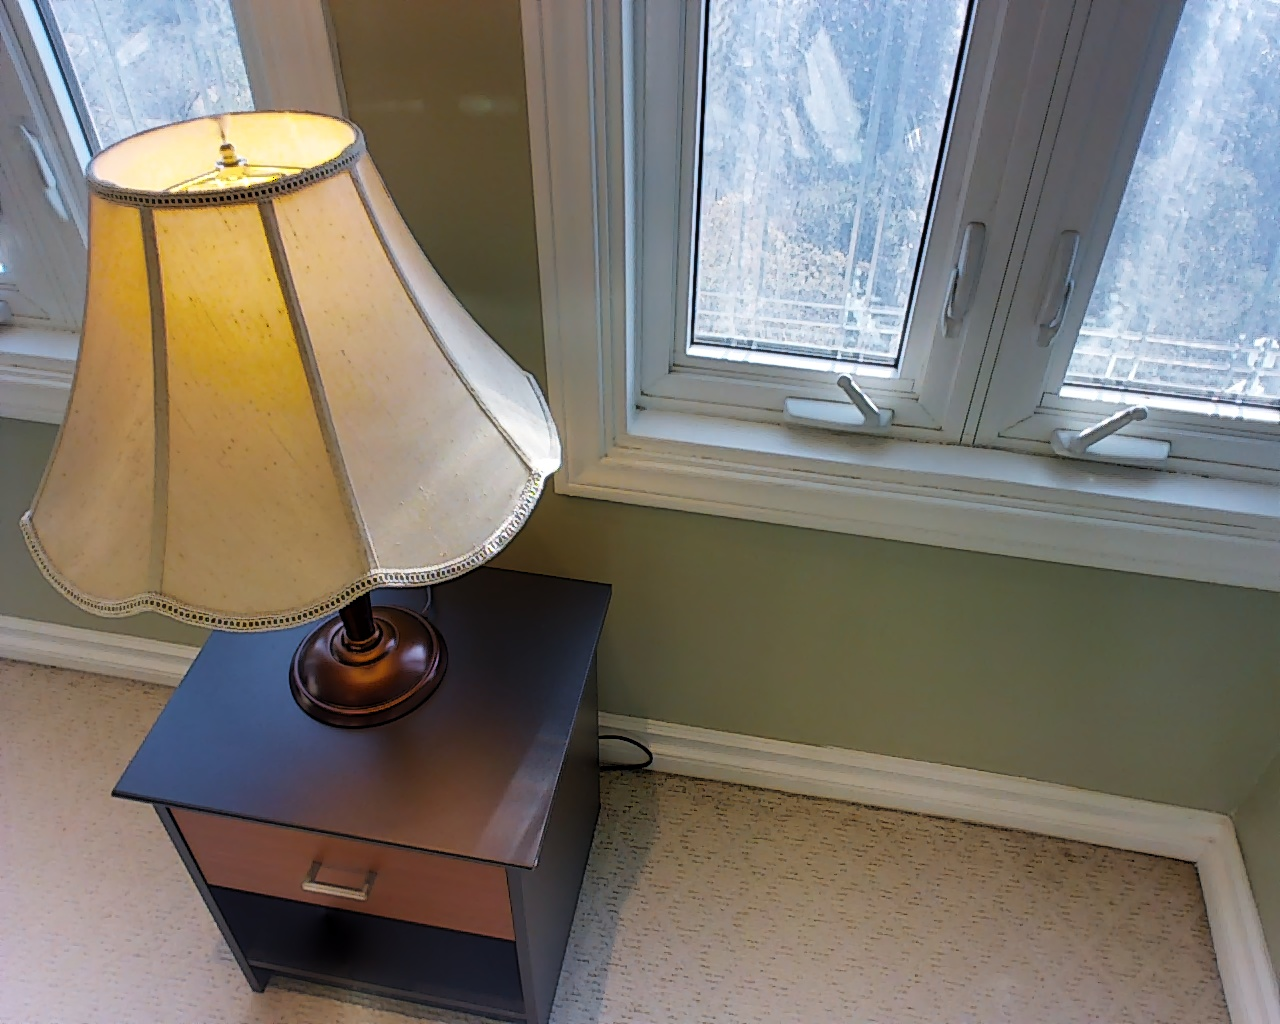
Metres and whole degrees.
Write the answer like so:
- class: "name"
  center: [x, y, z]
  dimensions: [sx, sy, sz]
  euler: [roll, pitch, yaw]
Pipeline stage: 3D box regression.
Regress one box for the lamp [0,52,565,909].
- class: "lamp"
  center: [-0.320, -0.020, 0.950]
  dimensions: [0.390, 0.590, 0.420]
  euler: [7, 43, 8]
